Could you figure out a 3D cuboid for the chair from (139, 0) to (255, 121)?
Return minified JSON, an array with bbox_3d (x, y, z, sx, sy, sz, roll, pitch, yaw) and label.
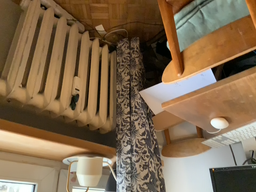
[{"bbox_3d":[0.320,-0.350,0.840,0.390,0.740,0.390,23,143,-38],"label":"chair"}]
